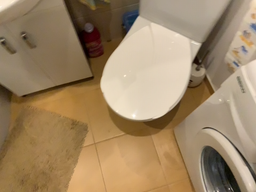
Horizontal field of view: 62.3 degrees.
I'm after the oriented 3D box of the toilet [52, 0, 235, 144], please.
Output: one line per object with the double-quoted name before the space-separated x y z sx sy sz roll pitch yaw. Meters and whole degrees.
"toilet" 0.130 -0.220 1.000 0.390 0.720 0.720 26 75 8
